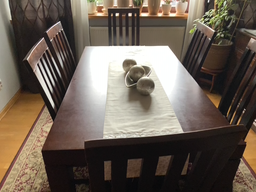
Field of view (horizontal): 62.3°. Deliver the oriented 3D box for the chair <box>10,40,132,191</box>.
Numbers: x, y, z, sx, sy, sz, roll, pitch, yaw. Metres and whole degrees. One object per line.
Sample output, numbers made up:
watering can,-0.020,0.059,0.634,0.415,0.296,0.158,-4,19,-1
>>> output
chair,-0.280,0.200,1.390,0.540,1.020,0.430,-2,29,-5
